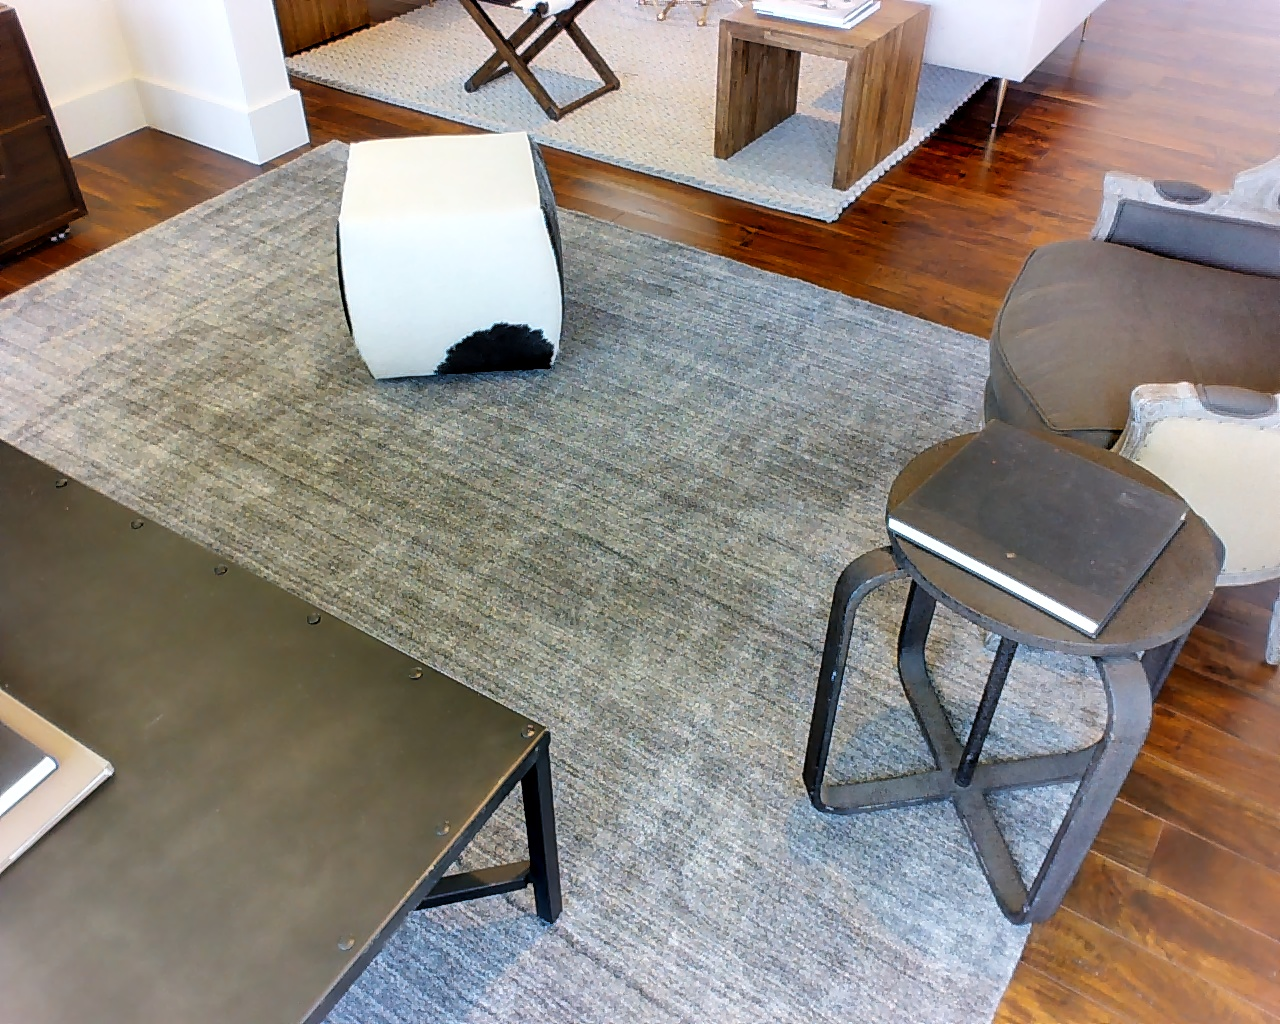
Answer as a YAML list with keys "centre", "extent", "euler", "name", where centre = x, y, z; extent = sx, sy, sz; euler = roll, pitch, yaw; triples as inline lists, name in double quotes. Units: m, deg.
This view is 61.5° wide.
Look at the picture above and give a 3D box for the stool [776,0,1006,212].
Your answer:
- centre: [0.810, -1.430, 3.490]
  extent: [0.500, 0.640, 0.500]
  euler: [25, 47, 25]
  name: "stool"
